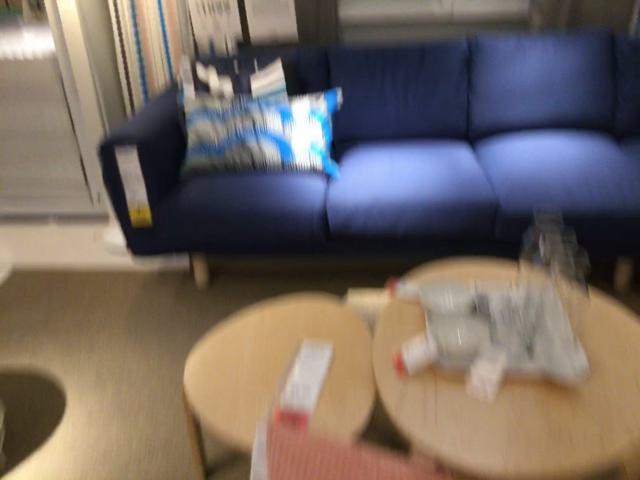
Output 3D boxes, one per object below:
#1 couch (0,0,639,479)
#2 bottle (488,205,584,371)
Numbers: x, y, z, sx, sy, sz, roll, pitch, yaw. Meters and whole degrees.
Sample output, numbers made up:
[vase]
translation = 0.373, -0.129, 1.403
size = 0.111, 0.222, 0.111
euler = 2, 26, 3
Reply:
[couch]
translation = 0.600, -0.080, 1.670
size = 2.910, 1.030, 2.210
euler = 2, 27, 7
[bottle]
translation = 0.450, 0.100, 1.240
size = 0.120, 0.300, 0.180
euler = 2, 27, 7
